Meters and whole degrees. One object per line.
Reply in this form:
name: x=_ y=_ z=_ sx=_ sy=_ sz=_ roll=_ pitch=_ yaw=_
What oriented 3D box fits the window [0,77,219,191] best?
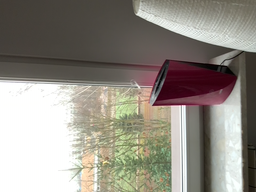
window: x=-0.260 y=0.300 z=0.870 sx=0.130 sy=1.380 sz=0.720 roll=169 pitch=102 yaw=-74
